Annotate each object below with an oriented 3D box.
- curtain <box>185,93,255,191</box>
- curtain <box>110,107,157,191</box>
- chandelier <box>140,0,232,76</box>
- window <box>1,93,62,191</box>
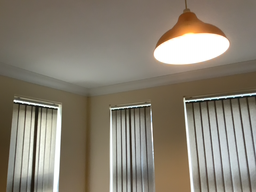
[{"bbox_3d":[1.030,0.710,2.040,0.860,1.450,0.030,-8,-13,30],"label":"curtain"},{"bbox_3d":[0.050,0.850,2.590,0.590,1.370,0.110,-8,-13,30],"label":"curtain"},{"bbox_3d":[0.290,-0.340,1.010,0.320,0.340,0.460,-6,-12,23],"label":"chandelier"},{"bbox_3d":[-1.000,0.810,2.240,0.130,1.610,0.580,-8,-13,30],"label":"window"}]
